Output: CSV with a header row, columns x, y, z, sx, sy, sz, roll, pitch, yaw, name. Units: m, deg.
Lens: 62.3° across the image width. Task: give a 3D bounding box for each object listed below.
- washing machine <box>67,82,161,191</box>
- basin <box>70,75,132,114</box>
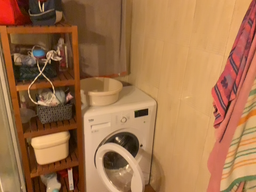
x,y,z,sx,sy,sz,roll,pitch,yaw,name
-0.150,0.380,1.840,0.570,0.820,0.540,-10,26,-27,washing machine
-0.210,-0.030,1.590,0.360,0.130,0.340,-9,26,-27,basin
